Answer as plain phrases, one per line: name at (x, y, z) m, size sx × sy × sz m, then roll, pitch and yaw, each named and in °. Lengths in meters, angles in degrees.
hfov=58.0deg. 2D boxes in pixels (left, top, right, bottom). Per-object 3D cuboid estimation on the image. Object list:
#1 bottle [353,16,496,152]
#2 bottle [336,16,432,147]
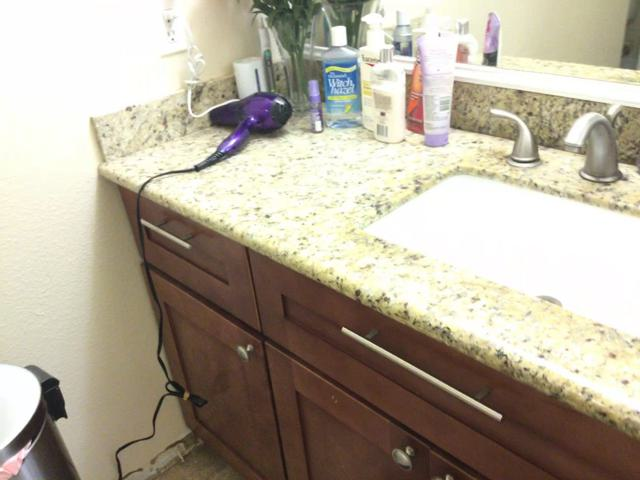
bottle at (0.210, -0.330, 1.190) m, size 0.170 × 0.220 × 0.220 m, roll -26°, pitch 35°, yaw -36°
bottle at (0.130, -0.330, 1.190) m, size 0.090 × 0.230 × 0.170 m, roll -26°, pitch 35°, yaw -36°
